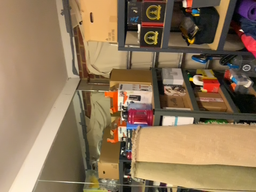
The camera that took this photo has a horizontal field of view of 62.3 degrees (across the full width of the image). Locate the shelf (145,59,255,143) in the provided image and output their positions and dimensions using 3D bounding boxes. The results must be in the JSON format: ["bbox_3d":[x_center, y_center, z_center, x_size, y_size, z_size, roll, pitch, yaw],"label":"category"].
[{"bbox_3d":[0.930,0.000,2.130,0.970,1.450,0.310,-88,0,-56],"label":"shelf"}]
